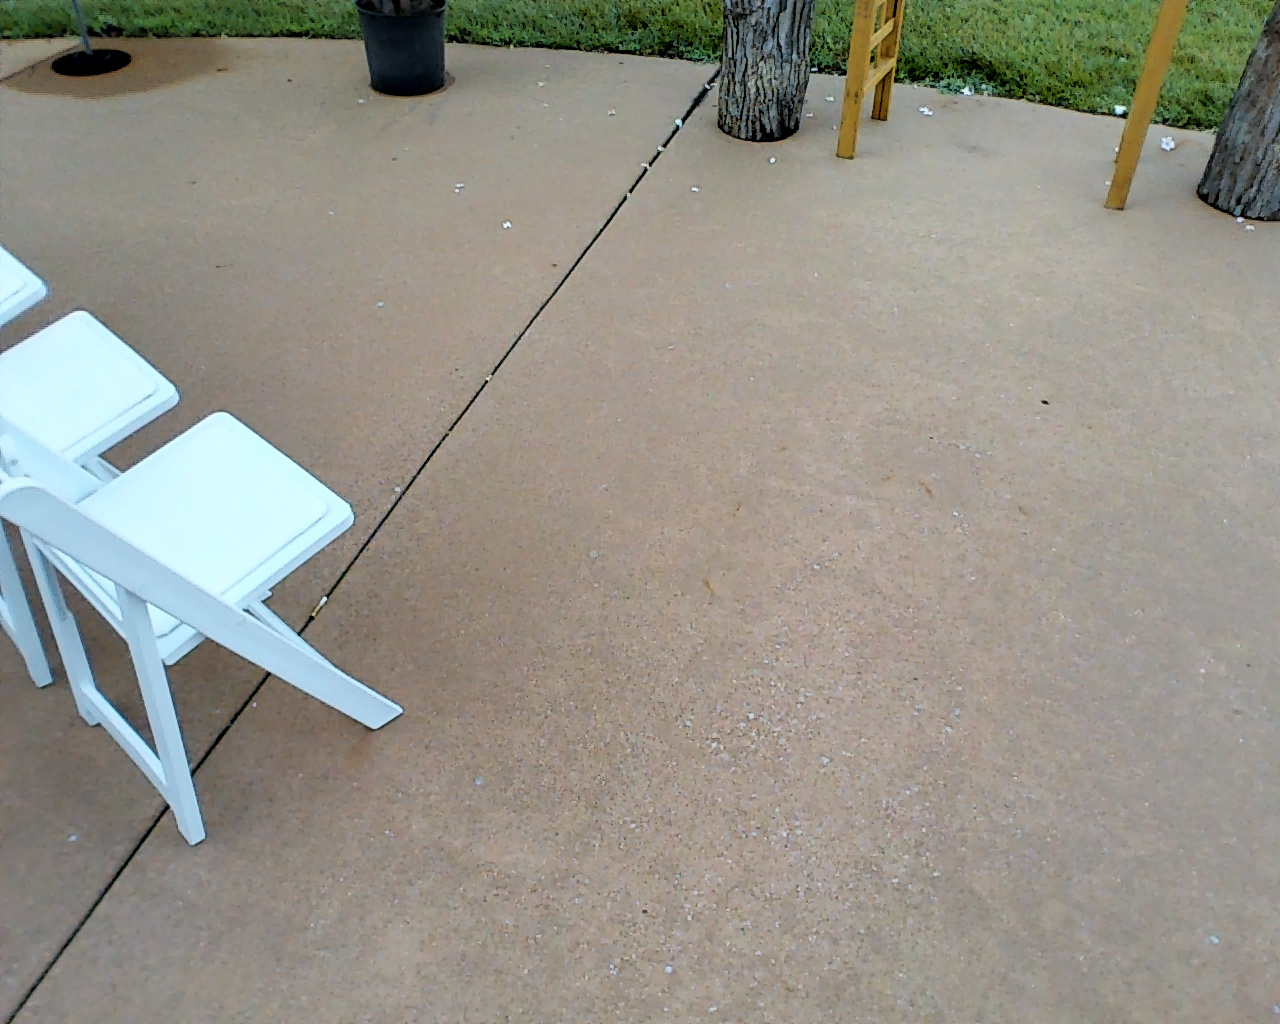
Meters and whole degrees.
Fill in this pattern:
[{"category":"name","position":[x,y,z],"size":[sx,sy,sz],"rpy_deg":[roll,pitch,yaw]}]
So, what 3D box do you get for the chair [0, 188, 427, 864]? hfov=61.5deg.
[{"category":"chair","position":[-1.460,-0.320,2.240],"size":[2.410,0.530,0.520],"rpy_deg":[31,50,29]}]
